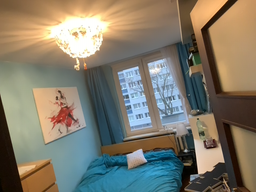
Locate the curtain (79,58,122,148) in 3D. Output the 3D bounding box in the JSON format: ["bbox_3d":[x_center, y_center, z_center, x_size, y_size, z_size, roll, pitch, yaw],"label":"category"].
[{"bbox_3d":[-0.590,0.150,4.560,0.480,1.840,0.180,-13,1,14],"label":"curtain"}]

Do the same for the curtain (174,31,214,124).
[{"bbox_3d":[1.230,-0.330,3.970,0.340,1.680,0.140,-13,1,17],"label":"curtain"}]
